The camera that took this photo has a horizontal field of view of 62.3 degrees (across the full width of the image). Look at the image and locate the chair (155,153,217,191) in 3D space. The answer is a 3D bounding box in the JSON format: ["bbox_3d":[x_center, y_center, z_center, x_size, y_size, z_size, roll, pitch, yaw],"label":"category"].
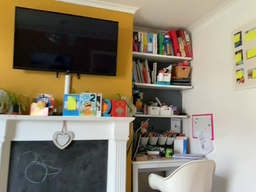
[{"bbox_3d":[0.520,0.980,1.990,0.410,0.790,0.450,2,-6,-12],"label":"chair"}]

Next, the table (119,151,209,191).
[{"bbox_3d":[0.420,1.090,2.590,0.950,0.710,0.520,3,-7,-17],"label":"table"}]
